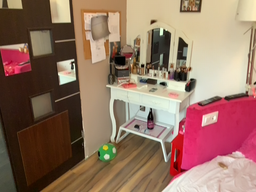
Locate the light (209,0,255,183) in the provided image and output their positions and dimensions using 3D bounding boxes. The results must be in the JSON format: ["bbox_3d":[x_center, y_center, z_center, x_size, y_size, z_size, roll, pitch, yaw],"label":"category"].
[{"bbox_3d":[1.020,-0.060,1.850,0.240,1.660,0.400,16,26,34],"label":"light"}]
